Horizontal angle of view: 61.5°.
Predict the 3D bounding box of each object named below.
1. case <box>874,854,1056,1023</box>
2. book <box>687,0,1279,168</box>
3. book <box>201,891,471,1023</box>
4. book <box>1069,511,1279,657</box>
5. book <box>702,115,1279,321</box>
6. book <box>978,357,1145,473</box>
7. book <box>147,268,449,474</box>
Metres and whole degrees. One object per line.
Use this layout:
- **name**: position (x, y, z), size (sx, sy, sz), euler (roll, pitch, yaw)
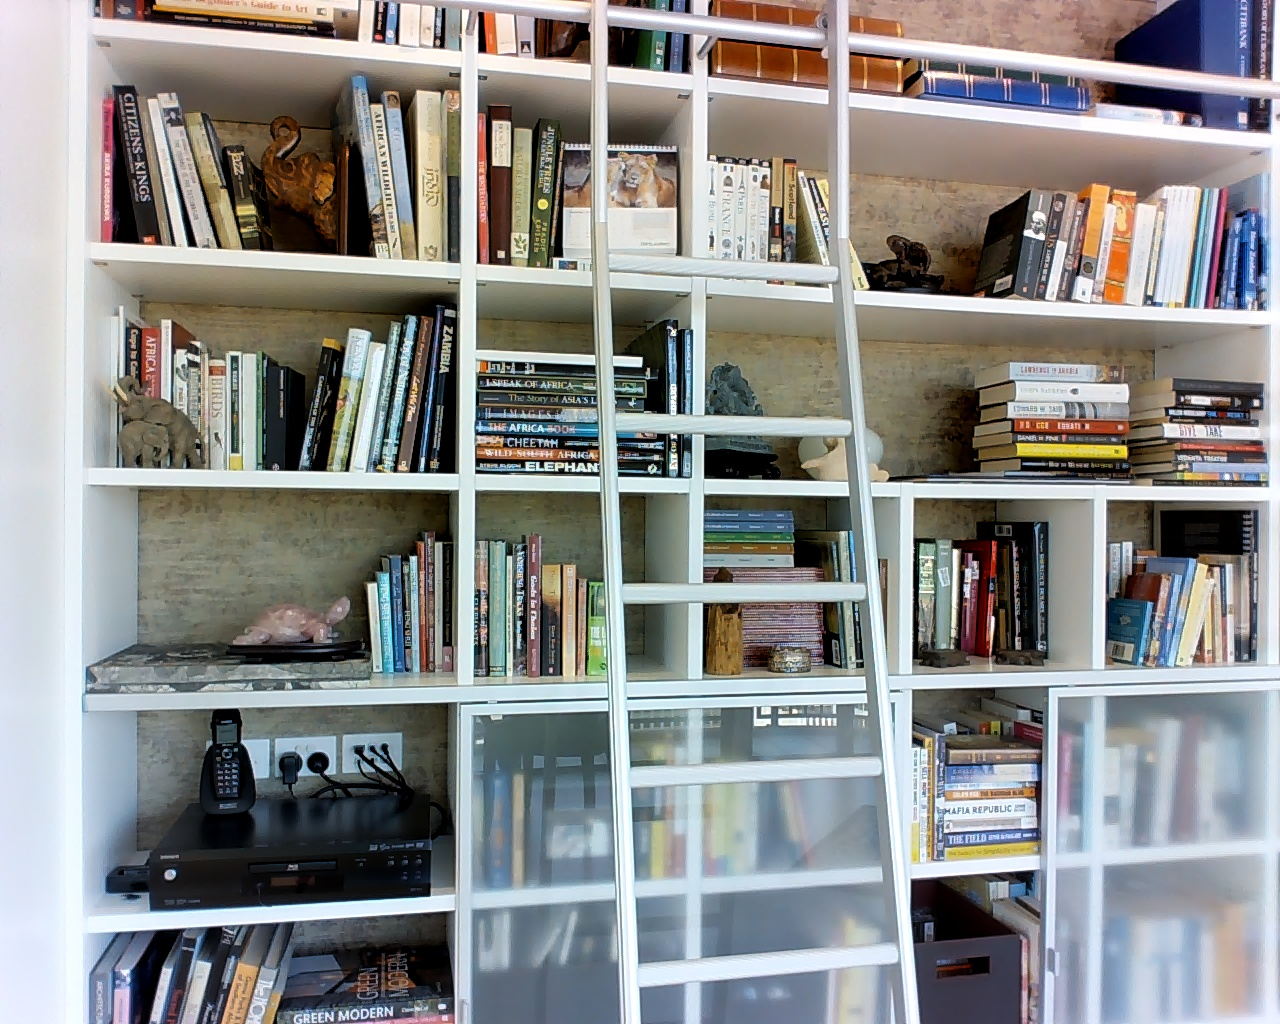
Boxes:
- **case**: position (0.630, 0.850, 2.110), size (0.240, 0.260, 0.260), euler (1, 0, -14)
- **book**: position (0.710, -0.960, 2.150), size (1.190, 0.350, 0.290), euler (1, 0, -13)
- **book**: position (-0.510, 0.830, 1.850), size (0.420, 0.250, 0.230), euler (1, 0, -12)
- **book**: position (1.090, 0.140, 2.190), size (0.360, 0.280, 0.180), euler (1, 0, -13)
- **book**: position (0.700, -0.560, 2.140), size (1.120, 0.260, 0.260), euler (1, 0, -13)
- **book**: position (0.850, -0.190, 2.180), size (0.250, 0.210, 0.190), euler (1, 0, -13)
- **book**: position (-0.580, -0.230, 1.890), size (0.470, 0.310, 0.270), euler (1, 0, -12)
